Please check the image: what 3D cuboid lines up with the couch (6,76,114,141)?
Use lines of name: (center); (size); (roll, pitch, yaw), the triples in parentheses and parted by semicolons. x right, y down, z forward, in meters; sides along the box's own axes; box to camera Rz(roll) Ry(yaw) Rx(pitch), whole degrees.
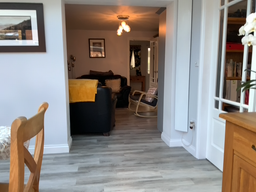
couch: (-1.090, 0.150, 3.840); (1.570, 0.960, 1.020); (1, 9, 3)
